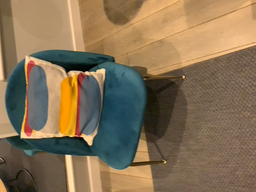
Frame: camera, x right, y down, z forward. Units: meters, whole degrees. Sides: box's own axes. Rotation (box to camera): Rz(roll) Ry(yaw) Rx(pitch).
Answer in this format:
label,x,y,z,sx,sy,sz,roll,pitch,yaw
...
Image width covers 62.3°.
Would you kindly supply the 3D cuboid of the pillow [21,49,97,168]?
label,x,y,z,sx,sy,sz,roll,pitch,yaw
pillow,-0.390,0.040,1.250,0.210,0.440,0.540,15,111,3
